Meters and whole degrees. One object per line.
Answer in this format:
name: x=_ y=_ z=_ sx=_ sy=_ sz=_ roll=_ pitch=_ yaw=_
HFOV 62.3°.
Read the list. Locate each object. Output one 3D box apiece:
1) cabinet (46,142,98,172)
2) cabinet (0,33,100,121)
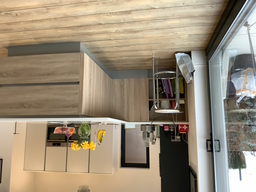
cabinet: x=-1.550 y=1.700 z=6.010 sx=1.270 sy=0.710 sz=0.600 roll=-2 pitch=172 yaw=11
cabinet: x=-1.000 y=-0.160 z=2.630 sx=1.130 sy=0.930 sz=0.630 roll=-2 pitch=172 yaw=11
